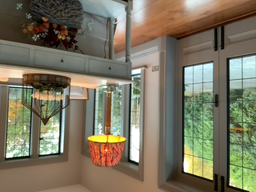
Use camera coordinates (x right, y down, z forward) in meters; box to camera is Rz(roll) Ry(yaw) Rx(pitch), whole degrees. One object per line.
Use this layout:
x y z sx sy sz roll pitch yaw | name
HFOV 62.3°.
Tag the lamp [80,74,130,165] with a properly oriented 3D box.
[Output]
-0.240 0.230 2.230 0.380 0.850 0.320 4 176 -36 | lamp
